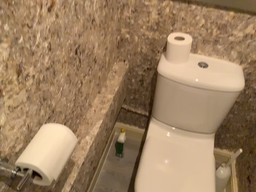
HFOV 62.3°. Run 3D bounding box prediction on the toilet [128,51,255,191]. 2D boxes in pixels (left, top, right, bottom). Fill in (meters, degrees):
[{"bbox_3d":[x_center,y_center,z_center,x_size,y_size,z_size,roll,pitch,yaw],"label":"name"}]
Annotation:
[{"bbox_3d":[0.260,0.320,1.100,0.410,0.780,0.700,13,44,7],"label":"toilet"}]
